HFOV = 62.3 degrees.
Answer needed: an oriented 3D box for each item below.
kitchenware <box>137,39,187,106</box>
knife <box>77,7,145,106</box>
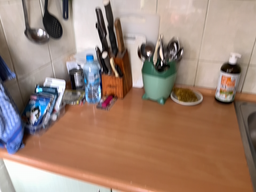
[{"bbox_3d":[0.150,-0.110,0.940,0.170,0.230,0.160,10,31,17],"label":"kitchenware"},{"bbox_3d":[-0.060,-0.180,0.940,0.210,0.370,0.200,10,31,16],"label":"knife"}]
